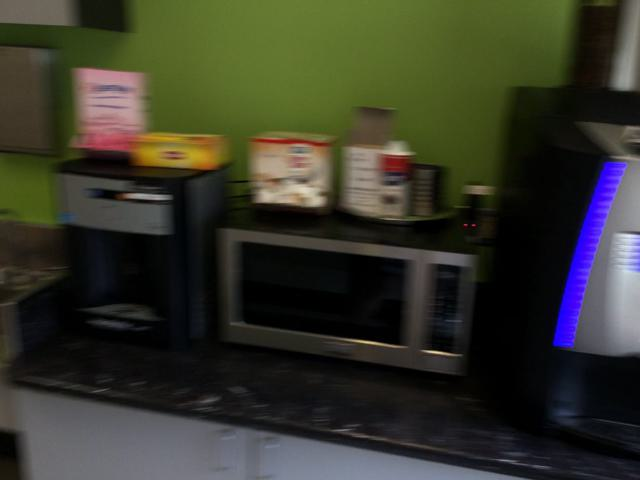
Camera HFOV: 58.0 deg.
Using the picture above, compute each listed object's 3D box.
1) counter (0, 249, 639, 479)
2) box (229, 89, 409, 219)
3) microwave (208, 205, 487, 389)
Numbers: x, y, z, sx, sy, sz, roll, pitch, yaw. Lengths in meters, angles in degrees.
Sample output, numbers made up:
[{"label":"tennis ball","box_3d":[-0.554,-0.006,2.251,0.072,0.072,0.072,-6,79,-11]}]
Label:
[{"label":"counter","box_3d":[0.190,0.290,1.480,1.770,0.140,0.730,7,15,9]},{"label":"box","box_3d":[0.010,-0.250,1.580,0.420,0.280,0.320,7,15,9]},{"label":"microwave","box_3d":[0.050,0.130,1.400,0.630,0.350,0.100,7,15,9]}]
